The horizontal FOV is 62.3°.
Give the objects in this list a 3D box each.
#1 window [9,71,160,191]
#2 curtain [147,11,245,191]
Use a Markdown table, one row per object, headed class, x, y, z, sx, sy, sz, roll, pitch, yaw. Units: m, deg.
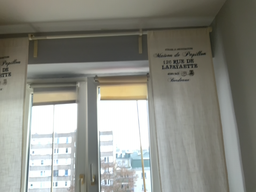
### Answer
| class | x | y | z | sx | sy | sz | roll | pitch | yaw |
| --- | --- | --- | --- | --- | --- | --- | --- | --- | --- |
| window | -0.320 | 0.510 | 1.610 | 1.080 | 1.390 | 0.110 | -2 | -14 | 0 |
| curtain | 0.410 | 0.200 | 1.380 | 0.470 | 1.550 | 0.190 | -3 | -14 | 3 |
